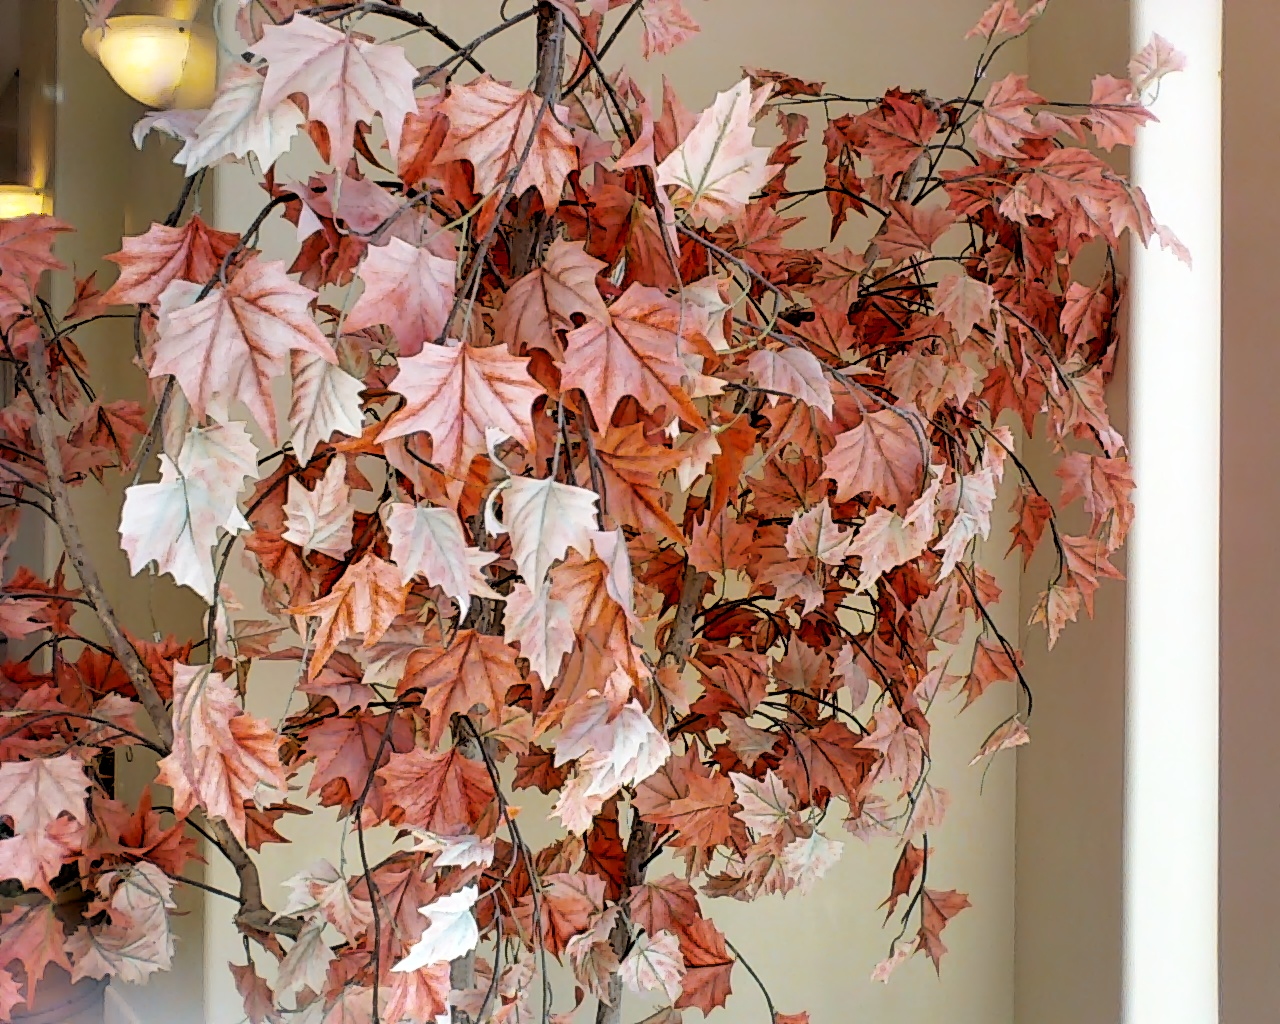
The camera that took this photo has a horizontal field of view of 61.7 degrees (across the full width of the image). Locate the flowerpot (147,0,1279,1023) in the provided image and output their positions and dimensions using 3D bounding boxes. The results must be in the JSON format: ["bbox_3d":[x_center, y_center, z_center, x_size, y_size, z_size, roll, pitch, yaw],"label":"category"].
[{"bbox_3d":[0.080,0.320,1.390,1.130,2.160,0.660,1,0,1],"label":"flowerpot"}]
